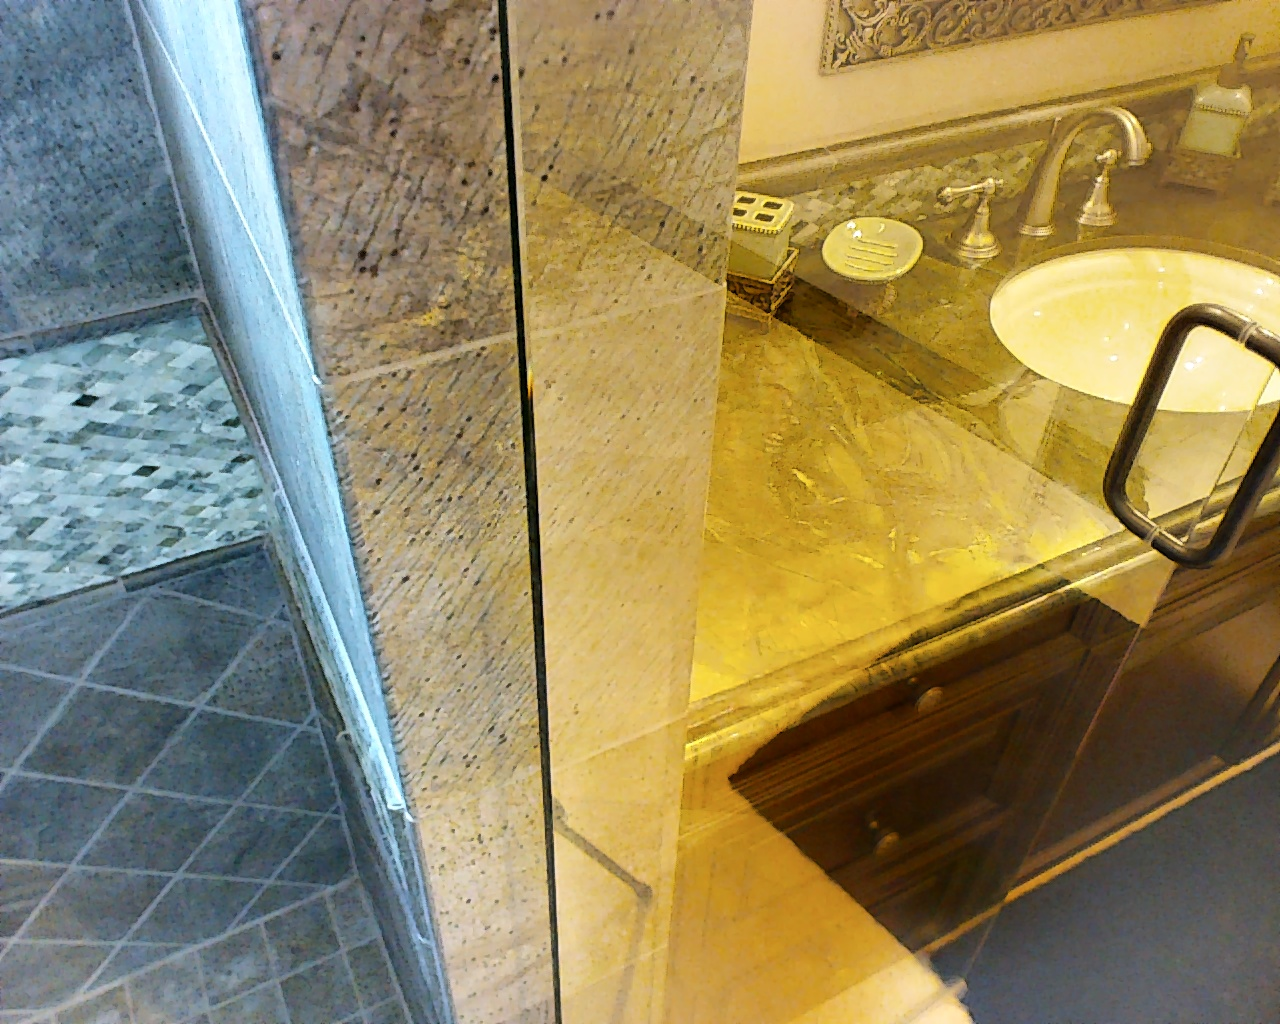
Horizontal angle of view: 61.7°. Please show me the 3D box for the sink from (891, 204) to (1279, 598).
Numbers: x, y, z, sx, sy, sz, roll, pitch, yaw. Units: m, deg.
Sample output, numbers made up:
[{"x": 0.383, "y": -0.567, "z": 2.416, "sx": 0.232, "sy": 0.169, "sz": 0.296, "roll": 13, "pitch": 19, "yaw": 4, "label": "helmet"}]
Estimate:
[{"x": 0.630, "y": -0.160, "z": 1.320, "sx": 0.480, "sy": 0.220, "sz": 0.350, "roll": -18, "pitch": 45, "yaw": -21, "label": "sink"}]

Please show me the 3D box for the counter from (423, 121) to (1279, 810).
[{"x": 0.640, "y": -0.230, "z": 1.250, "sx": 1.640, "sy": 0.060, "sz": 0.630, "roll": -18, "pitch": 45, "yaw": -21, "label": "counter"}]

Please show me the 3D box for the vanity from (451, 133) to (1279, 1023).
[{"x": 0.630, "y": 0.100, "z": 1.530, "sx": 1.620, "sy": 0.970, "sz": 0.550, "roll": -17, "pitch": 45, "yaw": -22, "label": "vanity"}]
